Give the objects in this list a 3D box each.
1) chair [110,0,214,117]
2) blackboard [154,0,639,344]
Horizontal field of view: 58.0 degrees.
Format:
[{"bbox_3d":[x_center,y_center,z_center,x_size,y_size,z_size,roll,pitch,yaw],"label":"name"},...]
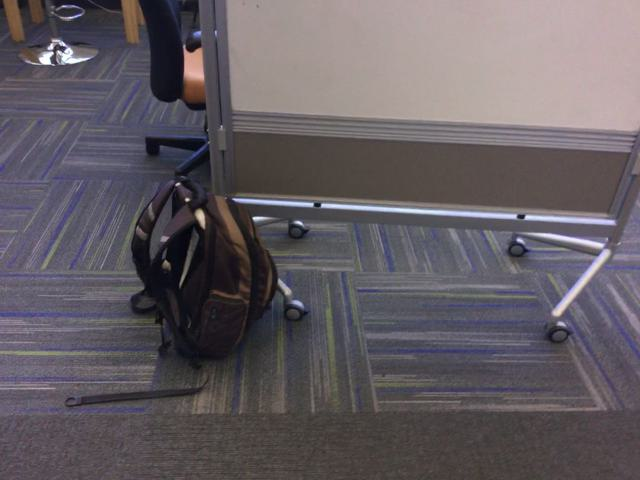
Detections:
[{"bbox_3d":[-0.590,-0.820,2.230,0.270,0.550,0.440,1,33,-3],"label":"chair"},{"bbox_3d":[0.320,-0.490,1.590,1.360,1.510,0.610,1,33,-3],"label":"blackboard"}]
